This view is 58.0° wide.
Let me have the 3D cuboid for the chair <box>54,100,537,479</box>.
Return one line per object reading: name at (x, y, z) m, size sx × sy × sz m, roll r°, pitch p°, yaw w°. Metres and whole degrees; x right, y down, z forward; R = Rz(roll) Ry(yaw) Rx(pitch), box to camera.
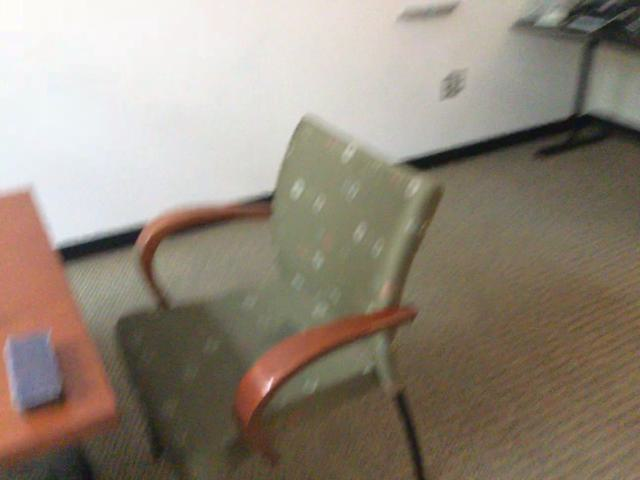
chair at (-0.100, 0.120, 1.150) m, size 0.600 × 0.530 × 0.710 m, roll -16°, pitch 33°, yaw -23°
